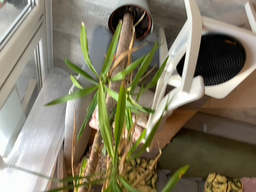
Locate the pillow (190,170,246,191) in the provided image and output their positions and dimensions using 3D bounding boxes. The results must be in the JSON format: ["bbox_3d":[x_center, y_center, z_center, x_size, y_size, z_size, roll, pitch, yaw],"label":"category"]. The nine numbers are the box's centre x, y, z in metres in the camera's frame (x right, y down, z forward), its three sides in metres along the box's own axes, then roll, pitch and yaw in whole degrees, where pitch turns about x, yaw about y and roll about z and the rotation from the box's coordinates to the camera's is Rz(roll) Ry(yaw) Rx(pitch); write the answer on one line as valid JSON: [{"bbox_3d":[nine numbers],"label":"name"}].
[{"bbox_3d":[0.970,1.010,2.320,0.430,0.210,0.360,13,140,-8],"label":"pillow"}]
